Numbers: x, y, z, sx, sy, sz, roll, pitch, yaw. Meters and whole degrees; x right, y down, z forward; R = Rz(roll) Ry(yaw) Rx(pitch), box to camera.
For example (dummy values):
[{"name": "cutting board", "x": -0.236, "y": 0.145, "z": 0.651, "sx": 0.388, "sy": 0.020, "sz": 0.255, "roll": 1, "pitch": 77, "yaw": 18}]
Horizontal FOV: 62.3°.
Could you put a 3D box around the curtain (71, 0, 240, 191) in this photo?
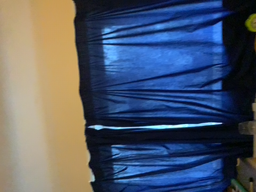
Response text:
[{"name": "curtain", "x": 0.210, "y": 0.070, "z": 1.470, "sx": 0.070, "sy": 1.040, "sz": 1.590, "roll": -76, "pitch": -18, "yaw": -79}]
